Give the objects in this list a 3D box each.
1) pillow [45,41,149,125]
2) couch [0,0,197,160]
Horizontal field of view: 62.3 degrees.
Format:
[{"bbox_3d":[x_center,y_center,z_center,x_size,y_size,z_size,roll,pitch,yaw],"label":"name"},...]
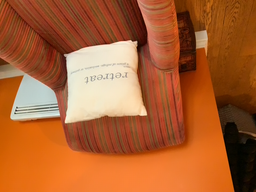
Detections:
[{"bbox_3d":[-0.120,-0.060,1.000,0.400,0.320,0.160,-9,134,18],"label":"pillow"},{"bbox_3d":[-0.150,-0.260,1.030,0.780,0.880,0.930,-8,149,16],"label":"couch"}]
